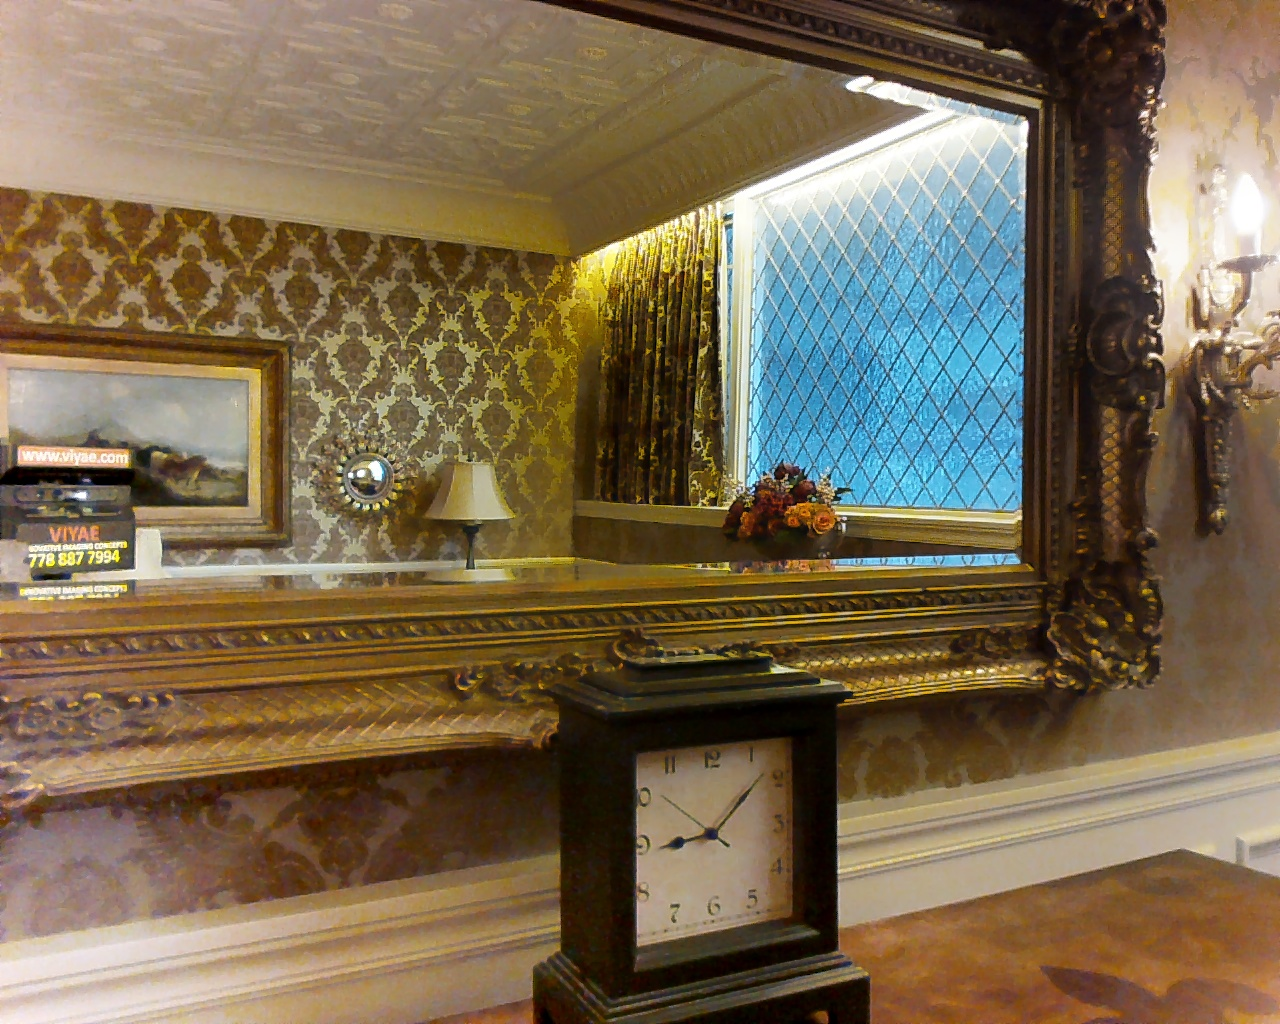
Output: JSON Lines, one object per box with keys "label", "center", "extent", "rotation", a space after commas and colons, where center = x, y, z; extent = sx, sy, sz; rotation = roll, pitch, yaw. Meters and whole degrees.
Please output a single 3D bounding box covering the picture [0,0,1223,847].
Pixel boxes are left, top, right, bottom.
{"label": "picture", "center": [0.050, -0.230, 1.130], "extent": [1.540, 0.940, 0.160], "rotation": [0, -1, -28]}
